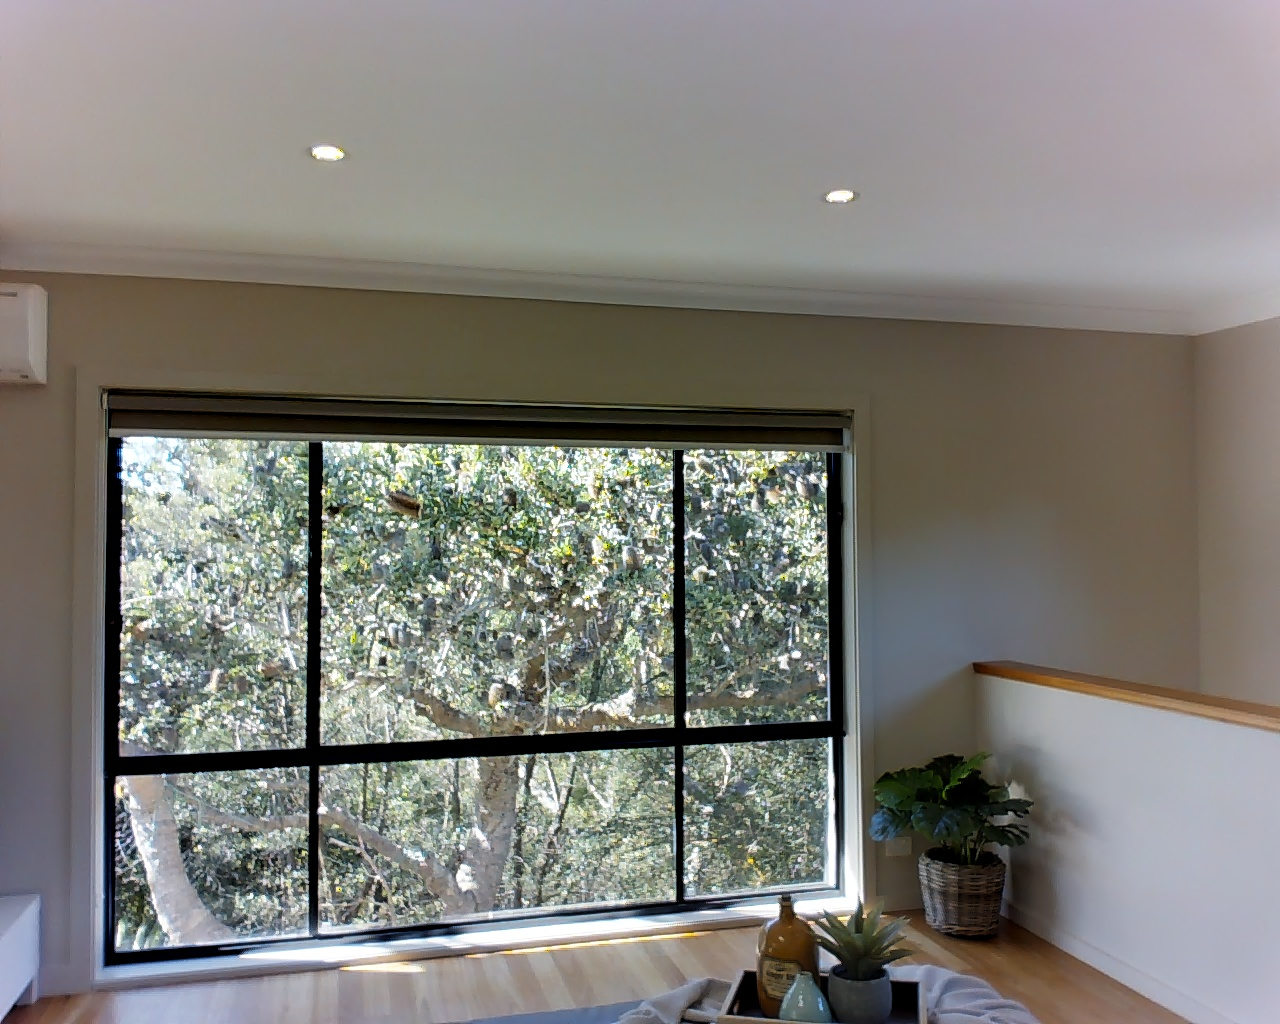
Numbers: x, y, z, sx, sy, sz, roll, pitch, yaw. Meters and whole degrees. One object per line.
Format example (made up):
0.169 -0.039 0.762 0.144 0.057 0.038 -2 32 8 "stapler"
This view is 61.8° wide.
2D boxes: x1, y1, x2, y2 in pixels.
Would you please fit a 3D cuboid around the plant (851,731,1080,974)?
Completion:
1.250 1.290 4.190 0.600 0.720 0.640 0 -2 -16 "plant"

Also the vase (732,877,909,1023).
0.410 0.990 2.380 0.360 0.230 0.320 -1 -2 15 "vase"
